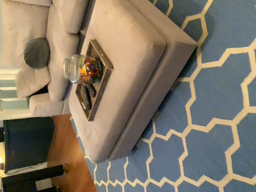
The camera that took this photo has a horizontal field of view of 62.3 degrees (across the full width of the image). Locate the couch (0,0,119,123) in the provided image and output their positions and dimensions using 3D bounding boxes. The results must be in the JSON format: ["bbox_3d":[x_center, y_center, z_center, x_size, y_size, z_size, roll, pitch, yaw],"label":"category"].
[{"bbox_3d":[-0.810,-0.780,2.200,0.980,0.790,1.980,57,136,35],"label":"couch"}]

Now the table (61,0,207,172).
[{"bbox_3d":[-0.100,-0.100,1.580,0.720,0.400,1.140,57,136,35],"label":"table"}]
